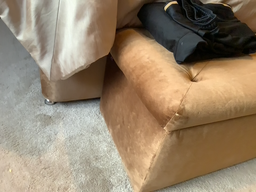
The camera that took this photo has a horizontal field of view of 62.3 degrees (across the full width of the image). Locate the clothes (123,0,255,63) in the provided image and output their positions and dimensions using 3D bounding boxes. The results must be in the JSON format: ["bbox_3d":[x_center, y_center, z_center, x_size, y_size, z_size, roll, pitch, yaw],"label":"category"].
[{"bbox_3d":[0.230,-0.250,0.710,0.390,0.110,0.290,-11,44,-31],"label":"clothes"}]
